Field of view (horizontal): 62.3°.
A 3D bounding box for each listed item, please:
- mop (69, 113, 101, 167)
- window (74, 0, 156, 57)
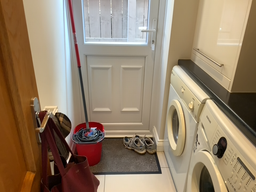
[{"bbox_3d":[-0.370,0.380,1.920,0.240,0.270,0.420,0,25,-6],"label":"mop"},{"bbox_3d":[-0.100,-0.890,1.700,0.650,1.130,0.160,-2,26,-10],"label":"window"}]
